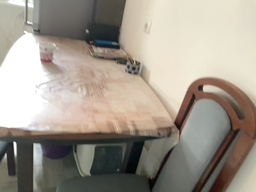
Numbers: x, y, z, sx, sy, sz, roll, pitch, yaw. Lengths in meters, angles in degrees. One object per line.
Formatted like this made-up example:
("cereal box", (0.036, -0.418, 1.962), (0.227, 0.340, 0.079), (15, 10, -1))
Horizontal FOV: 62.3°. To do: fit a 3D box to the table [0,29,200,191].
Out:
("table", (-0.380, 0.150, 1.440), (0.820, 0.780, 1.320), (2, 28, -24))
